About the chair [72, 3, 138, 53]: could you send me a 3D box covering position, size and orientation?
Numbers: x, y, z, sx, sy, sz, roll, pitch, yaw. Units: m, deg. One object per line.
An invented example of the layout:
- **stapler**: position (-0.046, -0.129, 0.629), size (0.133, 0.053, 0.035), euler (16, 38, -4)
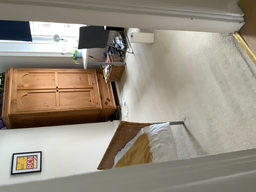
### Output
- **chair**: position (-0.370, -1.010, 3.190), size (0.420, 0.850, 0.530), euler (113, 149, -51)
